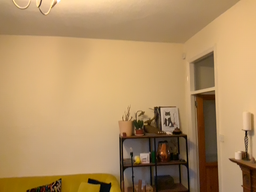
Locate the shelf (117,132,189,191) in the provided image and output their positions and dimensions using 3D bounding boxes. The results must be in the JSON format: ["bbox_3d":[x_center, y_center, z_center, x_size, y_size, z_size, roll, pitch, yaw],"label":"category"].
[{"bbox_3d":[0.370,1.260,3.270,1.050,1.330,0.350,0,-4,-8],"label":"shelf"}]
